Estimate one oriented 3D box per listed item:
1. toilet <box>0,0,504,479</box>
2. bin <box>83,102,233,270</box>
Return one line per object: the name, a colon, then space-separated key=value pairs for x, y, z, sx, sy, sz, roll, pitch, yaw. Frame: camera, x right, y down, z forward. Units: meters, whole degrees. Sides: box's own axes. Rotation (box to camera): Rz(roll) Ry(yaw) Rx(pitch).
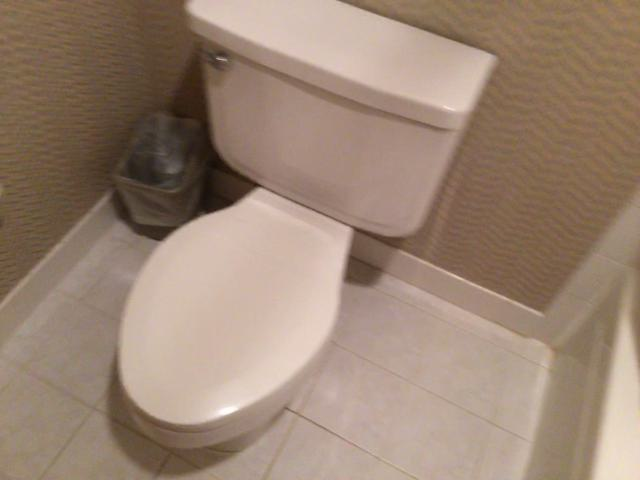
toilet: x=-0.120 y=0.040 z=1.110 sx=0.530 sy=0.730 sz=0.740 roll=24 pitch=54 yaw=13
bin: x=-0.400 y=-0.140 z=1.500 sx=0.230 sy=0.270 sz=0.260 roll=24 pitch=54 yaw=13
